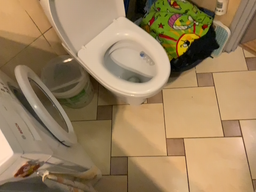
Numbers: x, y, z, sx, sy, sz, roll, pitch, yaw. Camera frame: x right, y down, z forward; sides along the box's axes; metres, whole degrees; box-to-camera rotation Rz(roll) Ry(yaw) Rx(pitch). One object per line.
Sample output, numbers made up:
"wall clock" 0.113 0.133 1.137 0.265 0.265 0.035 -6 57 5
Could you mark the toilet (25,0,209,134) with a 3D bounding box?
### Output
"toilet" -0.060 -0.270 1.090 0.660 0.810 0.400 41 77 21
